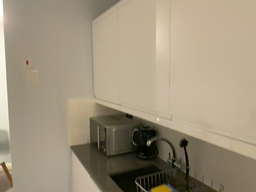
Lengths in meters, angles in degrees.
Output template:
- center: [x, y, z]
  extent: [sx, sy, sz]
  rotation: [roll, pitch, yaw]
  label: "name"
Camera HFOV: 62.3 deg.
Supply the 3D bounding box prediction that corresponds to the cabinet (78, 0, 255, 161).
- center: [0.160, -0.270, 1.460]
  extent: [0.440, 0.780, 1.860]
  rotation: [-3, 7, -30]
  label: "cabinet"
